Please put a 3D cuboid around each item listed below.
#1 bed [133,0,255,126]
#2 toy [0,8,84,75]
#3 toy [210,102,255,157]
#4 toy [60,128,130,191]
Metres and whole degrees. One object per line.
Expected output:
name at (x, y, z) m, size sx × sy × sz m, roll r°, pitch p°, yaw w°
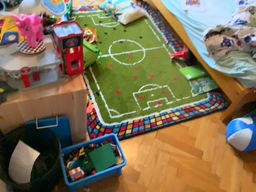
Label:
bed at (0.850, -0.710, 2.170) m, size 0.930 × 0.500 × 1.850 m, roll -11°, pitch 55°, yaw -19°
toy at (-0.410, -0.260, 0.970) m, size 0.360 × 0.160 × 0.210 m, roll -14°, pitch 56°, yaw -20°
toy at (0.870, 0.240, 1.570) m, size 0.350 × 0.200 × 0.270 m, roll -12°, pitch 55°, yaw -19°
toy at (-0.200, 0.380, 1.280) m, size 0.340 × 0.160 × 0.240 m, roll -15°, pitch 56°, yaw -21°
